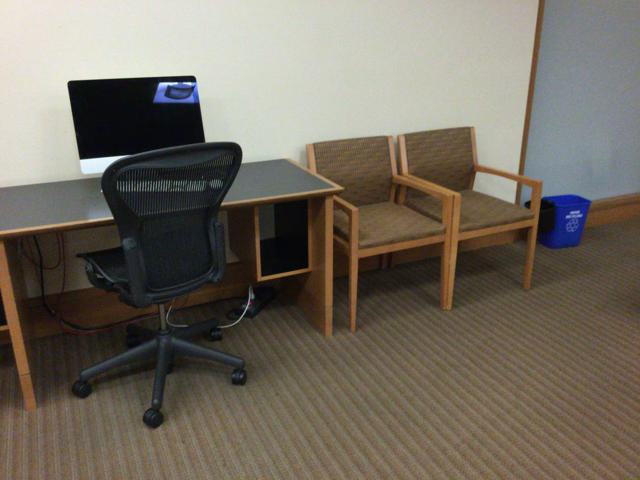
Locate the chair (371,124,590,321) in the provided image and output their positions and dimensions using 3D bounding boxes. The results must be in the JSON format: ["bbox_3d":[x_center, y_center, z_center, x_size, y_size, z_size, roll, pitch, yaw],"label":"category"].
[{"bbox_3d":[0.810,-0.140,3.090,0.740,0.830,0.670,-5,22,-27],"label":"chair"}]

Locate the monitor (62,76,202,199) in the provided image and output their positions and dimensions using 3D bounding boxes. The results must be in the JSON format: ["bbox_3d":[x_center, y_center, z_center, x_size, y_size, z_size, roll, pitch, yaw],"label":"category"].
[{"bbox_3d":[-0.820,-0.450,2.530,0.520,0.460,0.290,-5,22,-27],"label":"monitor"}]

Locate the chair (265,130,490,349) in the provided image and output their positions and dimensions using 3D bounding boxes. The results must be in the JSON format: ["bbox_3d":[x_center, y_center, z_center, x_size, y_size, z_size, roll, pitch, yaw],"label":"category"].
[{"bbox_3d":[0.240,-0.060,2.930,0.760,0.850,0.730,-5,22,-27],"label":"chair"}]

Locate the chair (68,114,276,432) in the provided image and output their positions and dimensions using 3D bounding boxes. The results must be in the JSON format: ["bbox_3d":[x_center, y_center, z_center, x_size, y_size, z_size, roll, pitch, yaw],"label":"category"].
[{"bbox_3d":[-0.630,0.080,2.360,0.630,1.060,0.630,-5,22,-27],"label":"chair"}]
